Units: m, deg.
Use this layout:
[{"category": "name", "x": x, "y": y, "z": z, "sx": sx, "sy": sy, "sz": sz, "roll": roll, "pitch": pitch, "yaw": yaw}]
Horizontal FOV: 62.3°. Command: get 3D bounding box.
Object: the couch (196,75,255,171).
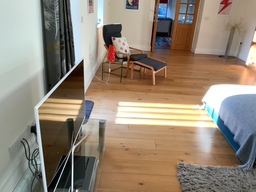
[{"category": "couch", "x": 1.730, "y": 0.240, "z": 2.580, "sx": 1.310, "sy": 0.520, "sz": 1.390, "roll": 4, "pitch": 23, "yaw": -1}]
